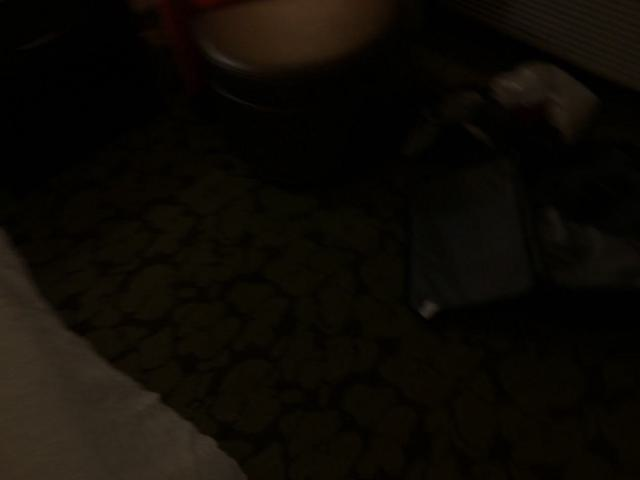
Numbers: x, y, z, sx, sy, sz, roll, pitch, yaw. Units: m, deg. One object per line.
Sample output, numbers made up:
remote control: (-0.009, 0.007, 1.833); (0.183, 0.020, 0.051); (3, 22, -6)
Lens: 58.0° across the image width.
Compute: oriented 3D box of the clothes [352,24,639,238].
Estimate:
clothes: (0.550, -0.390, 1.830); (0.570, 0.140, 0.700); (34, 60, 30)

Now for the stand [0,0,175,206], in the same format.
stand: (-0.990, -0.630, 1.920); (0.560, 0.590, 0.660); (34, 60, 30)
